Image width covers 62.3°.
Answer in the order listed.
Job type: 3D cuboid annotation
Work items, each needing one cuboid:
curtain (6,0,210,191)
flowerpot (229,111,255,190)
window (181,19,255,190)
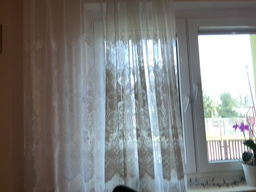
[{"bbox_3d":[-0.130,0.280,1.540,1.320,2.740,0.270,-2,-5,-5],"label":"curtain"},{"bbox_3d":[1.050,0.420,1.740,0.310,0.590,0.180,-2,-5,-6],"label":"flowerpot"},{"bbox_3d":[0.970,0.040,1.870,0.890,1.420,0.150,-2,-5,-4],"label":"window"}]
